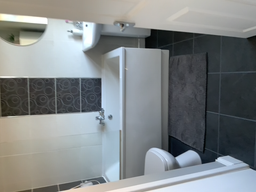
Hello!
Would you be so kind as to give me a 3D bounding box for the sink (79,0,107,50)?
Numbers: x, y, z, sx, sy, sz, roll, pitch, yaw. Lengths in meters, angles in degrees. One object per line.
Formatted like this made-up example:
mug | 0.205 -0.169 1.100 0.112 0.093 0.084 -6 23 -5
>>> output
sink | -0.420 -0.880 2.460 0.490 0.200 0.620 -167 76 -66
